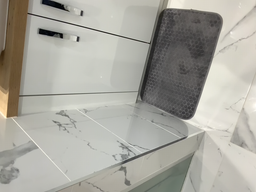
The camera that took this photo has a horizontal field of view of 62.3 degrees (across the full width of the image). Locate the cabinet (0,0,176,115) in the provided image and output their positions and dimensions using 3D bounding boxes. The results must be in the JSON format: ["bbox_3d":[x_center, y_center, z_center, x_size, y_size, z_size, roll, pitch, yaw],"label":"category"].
[{"bbox_3d":[-0.140,-0.560,1.080,0.390,0.810,1.170,26,109,38],"label":"cabinet"}]
